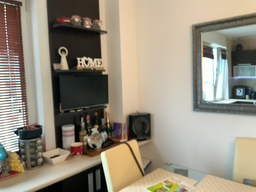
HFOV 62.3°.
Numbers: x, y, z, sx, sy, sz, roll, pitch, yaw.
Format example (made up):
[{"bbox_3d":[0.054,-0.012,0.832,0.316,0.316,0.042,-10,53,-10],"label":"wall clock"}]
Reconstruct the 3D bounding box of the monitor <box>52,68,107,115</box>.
[{"bbox_3d":[-0.430,-0.060,2.010,0.540,0.370,0.030,-12,11,-43],"label":"monitor"}]
